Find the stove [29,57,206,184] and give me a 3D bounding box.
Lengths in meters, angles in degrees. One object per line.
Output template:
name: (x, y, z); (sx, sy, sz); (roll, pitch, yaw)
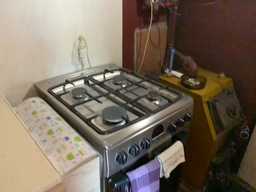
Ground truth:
stove: (-0.060, 0.020, 1.060); (0.590, 0.170, 0.620); (-23, 37, -37)
